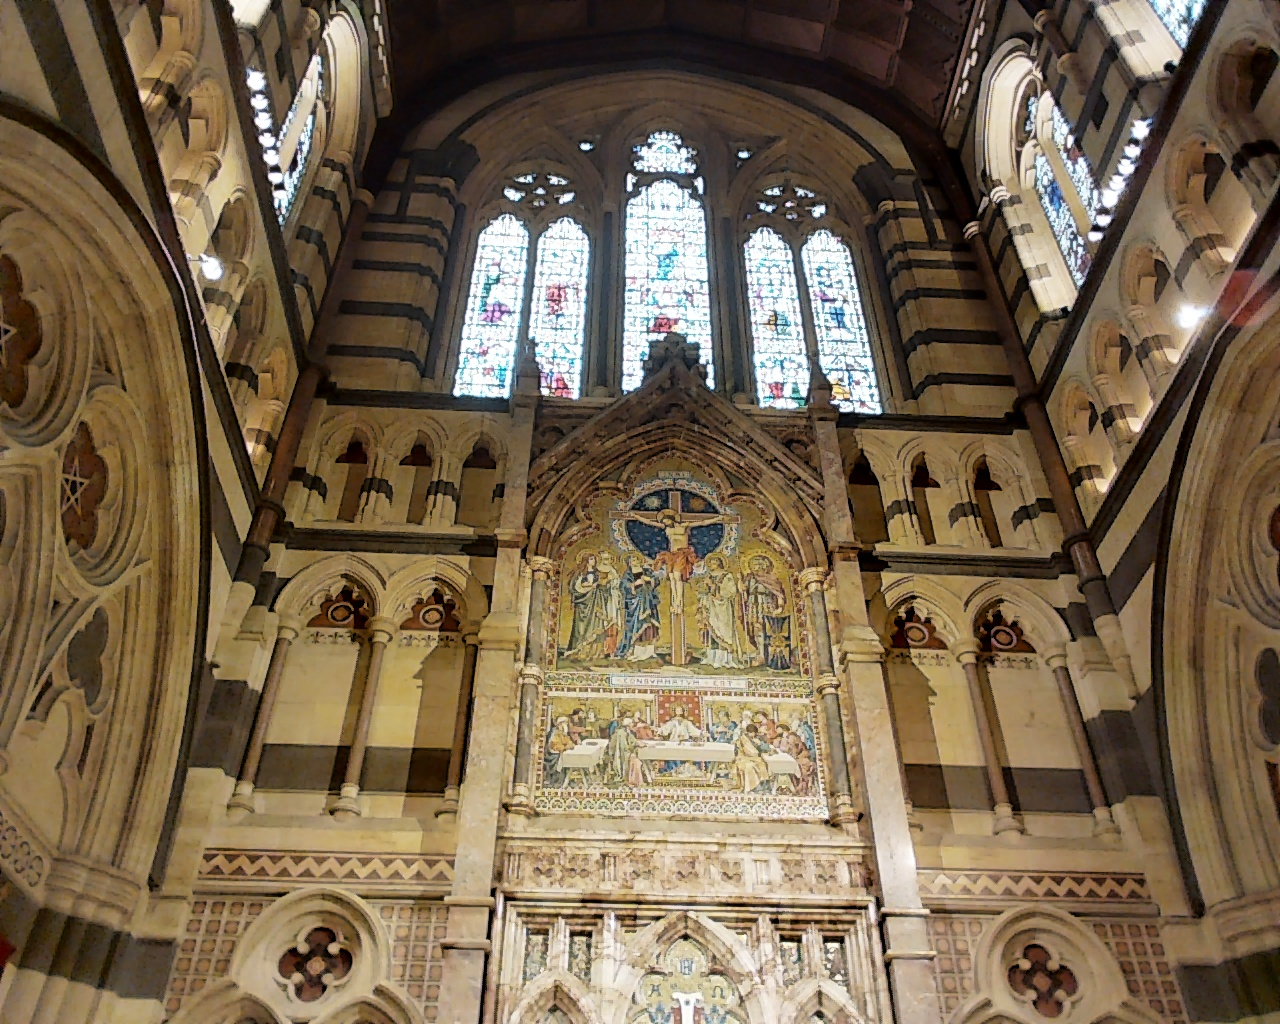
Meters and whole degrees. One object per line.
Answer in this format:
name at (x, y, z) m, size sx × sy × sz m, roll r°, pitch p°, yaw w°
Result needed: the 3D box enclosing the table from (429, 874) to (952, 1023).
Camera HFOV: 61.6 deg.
table at (0.440, 5.544, 8.890) m, size 4.587 × 4.862 × 0.710 m, roll 2°, pitch -43°, yaw -2°
